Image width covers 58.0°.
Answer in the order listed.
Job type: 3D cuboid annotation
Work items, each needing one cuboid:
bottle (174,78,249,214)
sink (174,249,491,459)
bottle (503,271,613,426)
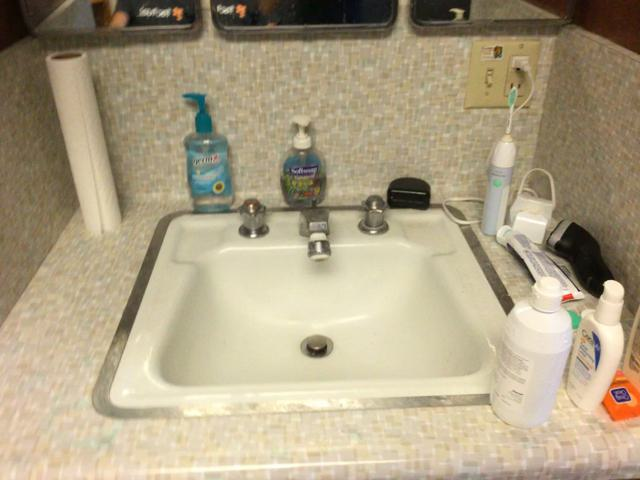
[{"bbox_3d":[-0.180,-0.160,0.990,0.100,0.210,0.090,-1,29,-3],"label":"bottle"},{"bbox_3d":[0.010,0.150,0.850,0.380,0.150,0.280,-1,29,-3],"label":"sink"},{"bbox_3d":[0.230,0.110,0.570,0.060,0.160,0.040,-1,29,-3],"label":"bottle"}]
